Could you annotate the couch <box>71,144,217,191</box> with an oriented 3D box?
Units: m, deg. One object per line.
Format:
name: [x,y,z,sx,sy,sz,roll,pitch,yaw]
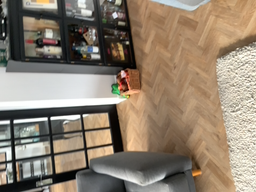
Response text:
couch: [0.100,0.990,1.730,0.960,0.770,1.020,-16,79,56]

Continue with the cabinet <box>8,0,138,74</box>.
cabinet: [-0.530,-0.720,2.190,0.320,1.210,0.900,-17,77,57]
